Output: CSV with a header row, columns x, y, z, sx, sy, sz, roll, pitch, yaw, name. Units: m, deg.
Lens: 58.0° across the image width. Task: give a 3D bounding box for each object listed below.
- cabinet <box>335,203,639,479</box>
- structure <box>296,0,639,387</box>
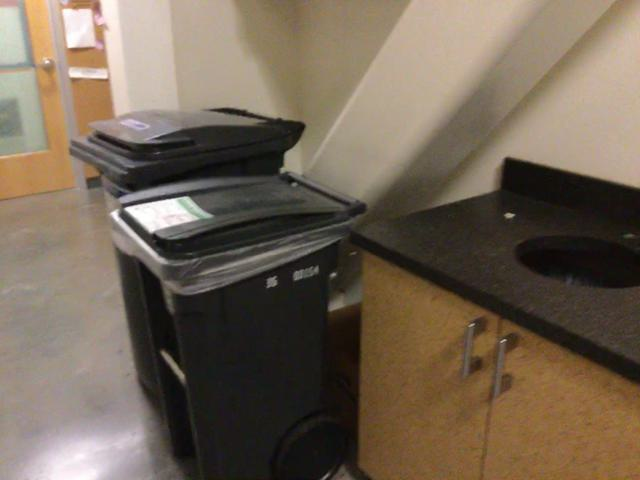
x,y,z,sx,sy,sz,roll,pitch,yaw,name
0.840,0.740,0.640,0.080,0.850,2.670,-13,27,-32,cabinet
0.420,-0.500,1.440,0.310,1.200,1.300,-13,27,-32,structure
